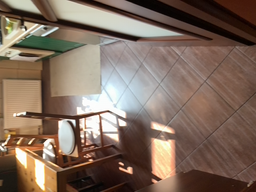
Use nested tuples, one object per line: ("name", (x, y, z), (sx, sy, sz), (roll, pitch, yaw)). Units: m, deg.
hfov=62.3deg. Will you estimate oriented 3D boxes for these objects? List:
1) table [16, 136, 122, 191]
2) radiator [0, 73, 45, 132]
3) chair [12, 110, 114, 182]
("table", (-0.730, 0.990, 2.480), (1.160, 0.730, 0.770), (-1, 91, 47))
("radiator", (-1.810, 0.100, 3.680), (0.240, 0.640, 0.940), (3, 94, 47))
("chair", (-0.670, 0.460, 2.260), (0.460, 0.910, 0.460), (14, 102, 46))
